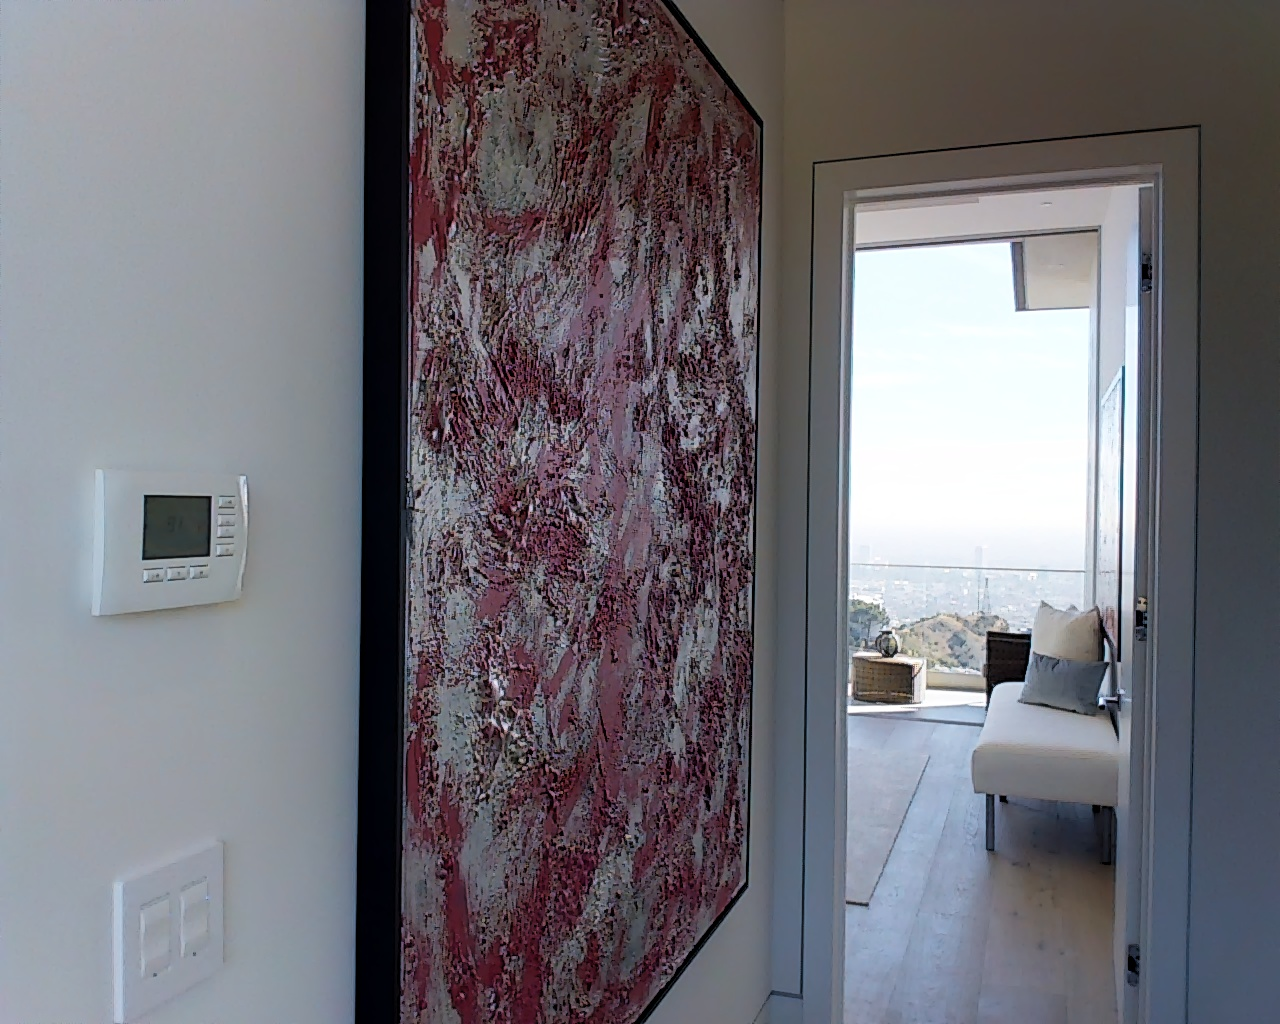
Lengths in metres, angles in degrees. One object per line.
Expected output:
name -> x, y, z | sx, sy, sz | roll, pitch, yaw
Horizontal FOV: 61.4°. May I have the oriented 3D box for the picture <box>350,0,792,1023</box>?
picture -> 0.030, -0.020, 1.890 | 0.080, 1.980, 1.630 | 1, 0, 21
